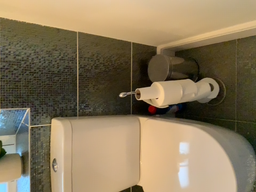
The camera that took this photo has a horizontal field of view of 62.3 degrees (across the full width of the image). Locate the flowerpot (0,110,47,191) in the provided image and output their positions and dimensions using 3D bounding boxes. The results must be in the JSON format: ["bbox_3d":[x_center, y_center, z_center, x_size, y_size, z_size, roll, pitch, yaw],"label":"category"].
[{"bbox_3d":[-0.660,0.280,1.010,0.370,0.420,0.350,10,98,52],"label":"flowerpot"}]
